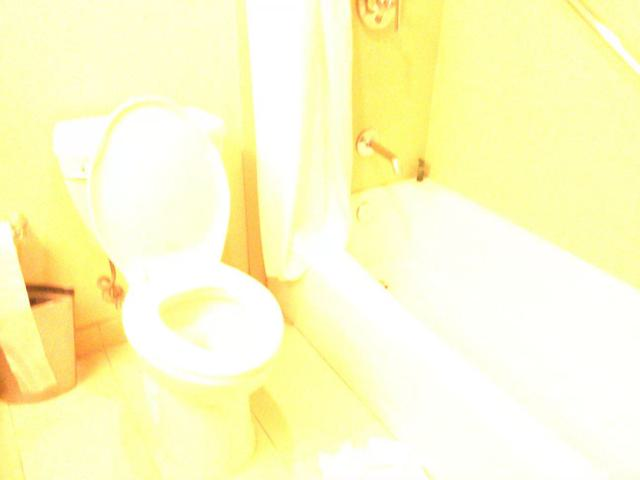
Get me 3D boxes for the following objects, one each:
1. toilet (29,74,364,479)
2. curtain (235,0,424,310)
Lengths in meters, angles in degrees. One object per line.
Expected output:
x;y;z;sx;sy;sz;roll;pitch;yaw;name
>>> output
-0.340;0.100;1.520;0.440;0.860;0.780;-18;34;-34;toilet
0.030;-0.730;1.620;0.440;1.890;0.310;-18;34;-34;curtain
